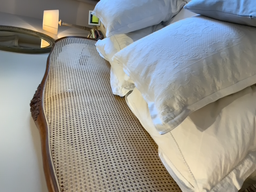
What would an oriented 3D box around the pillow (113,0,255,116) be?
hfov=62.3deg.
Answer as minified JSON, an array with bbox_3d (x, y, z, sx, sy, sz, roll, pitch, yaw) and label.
[{"bbox_3d":[0.230,-0.250,0.960,0.670,0.410,0.240,-70,-2,-60],"label":"pillow"}]
